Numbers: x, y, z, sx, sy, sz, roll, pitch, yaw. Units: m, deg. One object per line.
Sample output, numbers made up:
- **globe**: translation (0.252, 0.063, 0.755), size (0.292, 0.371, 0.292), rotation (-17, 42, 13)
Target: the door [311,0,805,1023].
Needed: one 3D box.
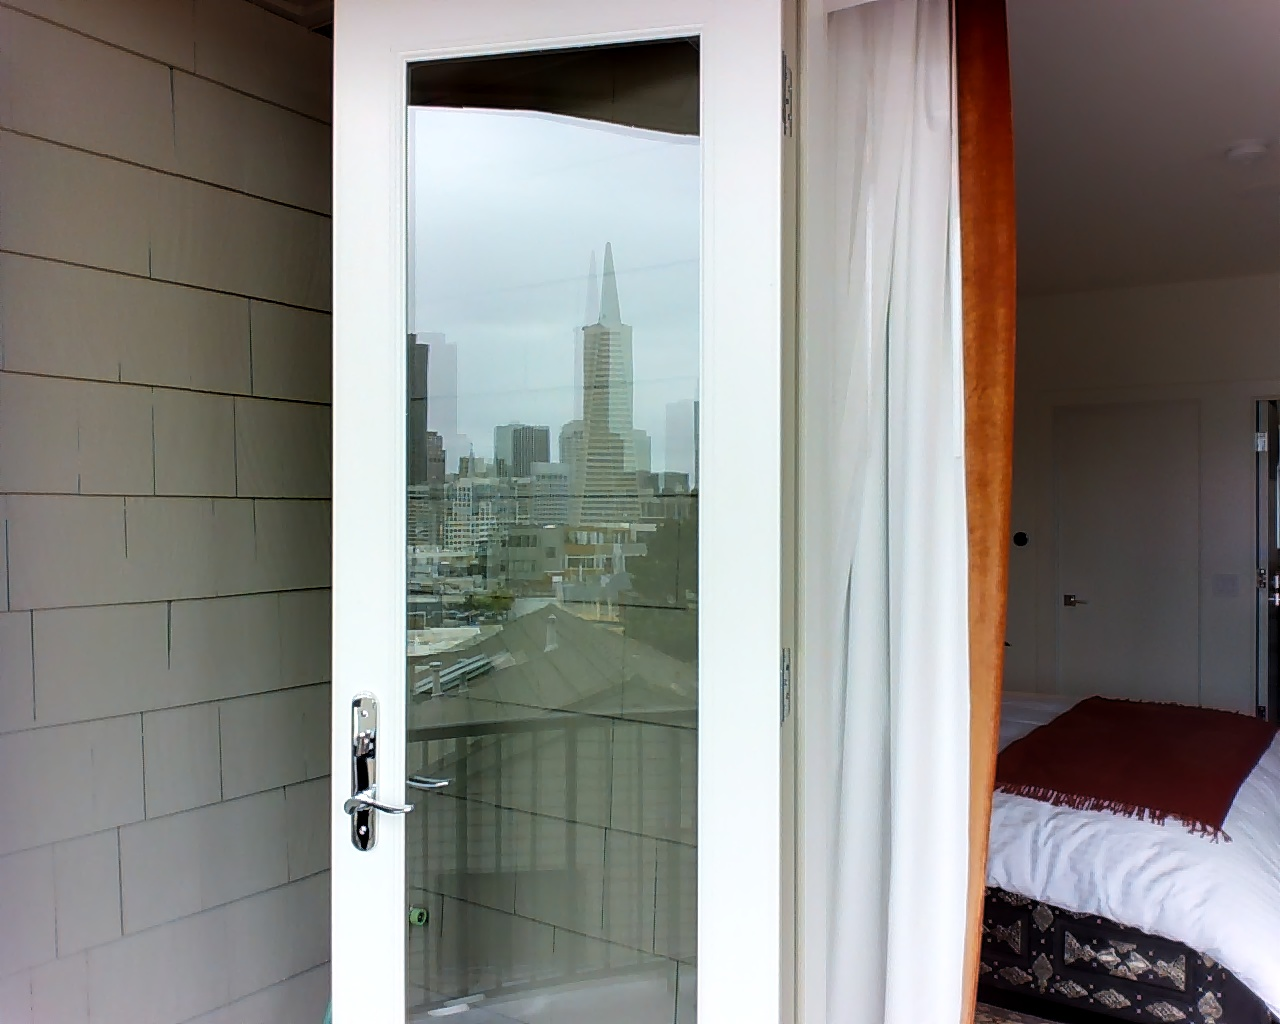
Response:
- **door**: translation (-0.130, 0.270, 1.710), size (0.770, 2.260, 0.140), rotation (0, 1, 12)
